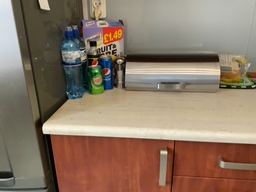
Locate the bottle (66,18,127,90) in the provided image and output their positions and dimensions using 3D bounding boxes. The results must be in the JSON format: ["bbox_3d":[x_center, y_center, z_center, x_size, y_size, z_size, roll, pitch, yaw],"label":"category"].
[{"bbox_3d":[-0.120,-0.210,0.980,0.200,0.280,0.280,2,21,6],"label":"bottle"}]
